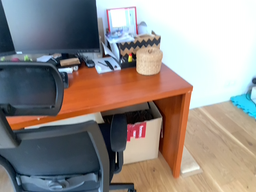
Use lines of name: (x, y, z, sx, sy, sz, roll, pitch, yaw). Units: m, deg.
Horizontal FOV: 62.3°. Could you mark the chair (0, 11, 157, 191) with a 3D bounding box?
chair: (-0.320, 0.250, 1.040, 0.740, 1.110, 0.770, -2, 32, -2)
